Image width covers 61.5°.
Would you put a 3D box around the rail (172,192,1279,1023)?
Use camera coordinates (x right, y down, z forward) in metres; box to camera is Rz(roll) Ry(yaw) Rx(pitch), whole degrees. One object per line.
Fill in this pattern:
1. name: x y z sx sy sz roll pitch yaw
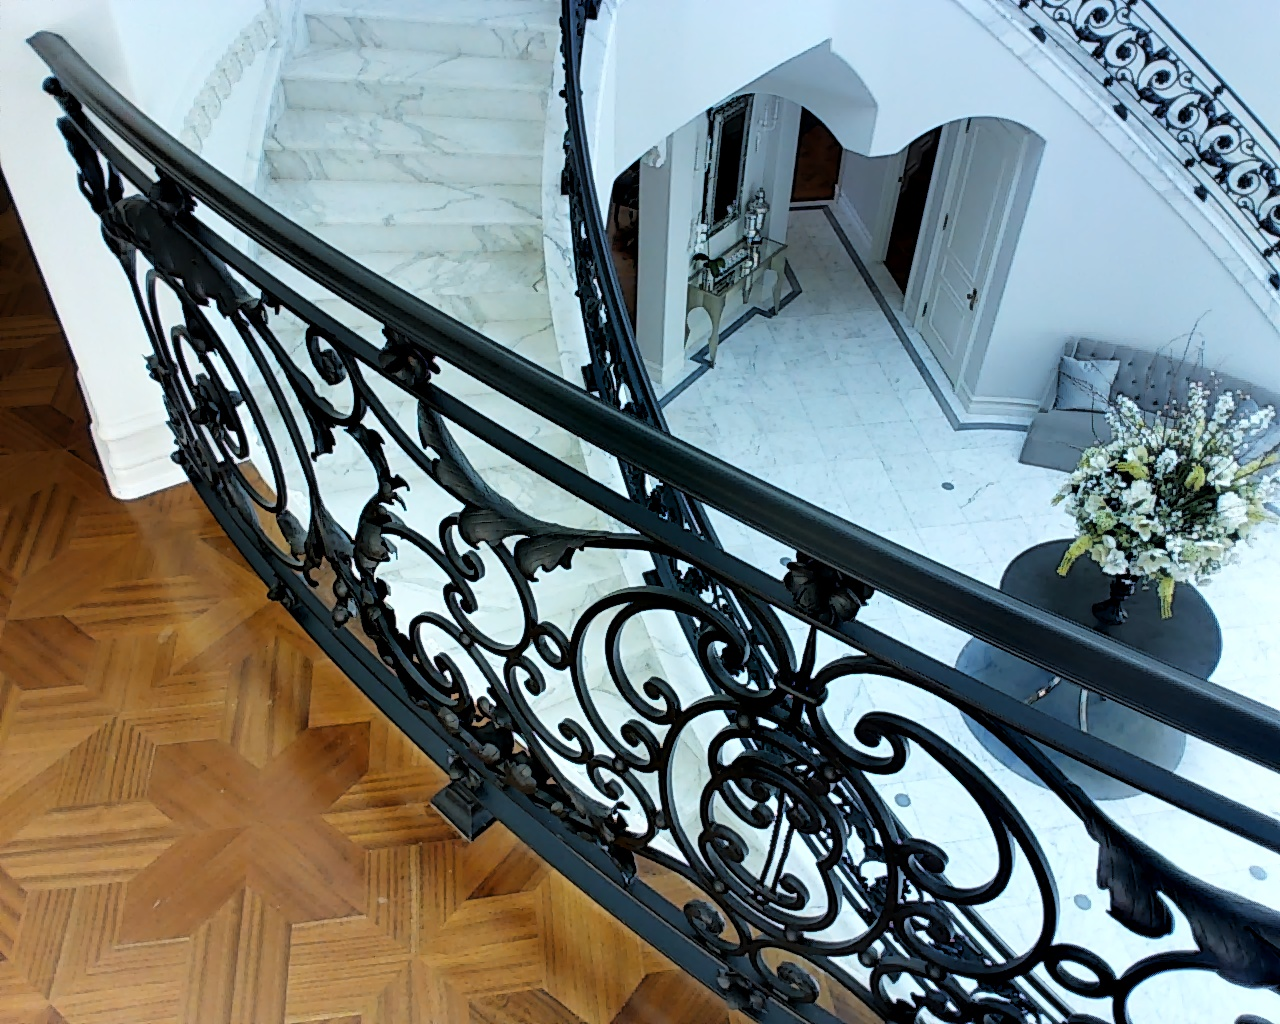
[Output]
1. rail: 0.550 0.520 1.160 2.400 1.060 0.280 25 47 24
